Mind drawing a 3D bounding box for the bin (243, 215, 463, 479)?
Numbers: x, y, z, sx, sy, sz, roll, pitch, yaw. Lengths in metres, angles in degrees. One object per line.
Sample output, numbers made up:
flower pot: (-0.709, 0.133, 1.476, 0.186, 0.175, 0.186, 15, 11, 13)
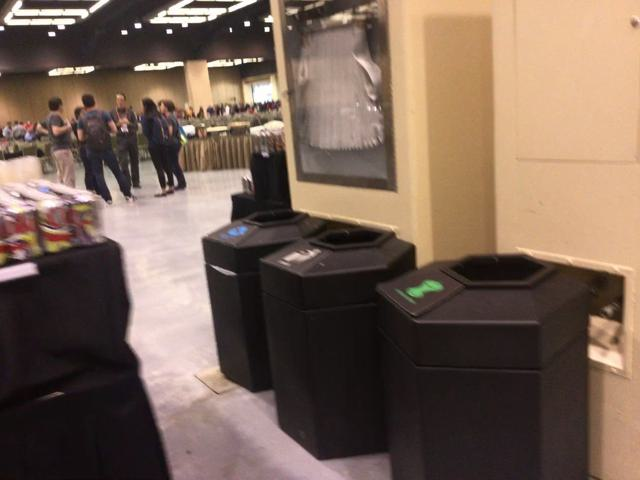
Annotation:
bin: (0.130, 0.380, 2.250, 0.580, 0.770, 0.590, -14, 19, -29)

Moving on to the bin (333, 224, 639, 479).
bin: (0.500, 0.460, 1.760, 0.610, 0.810, 0.650, -14, 19, -29)
